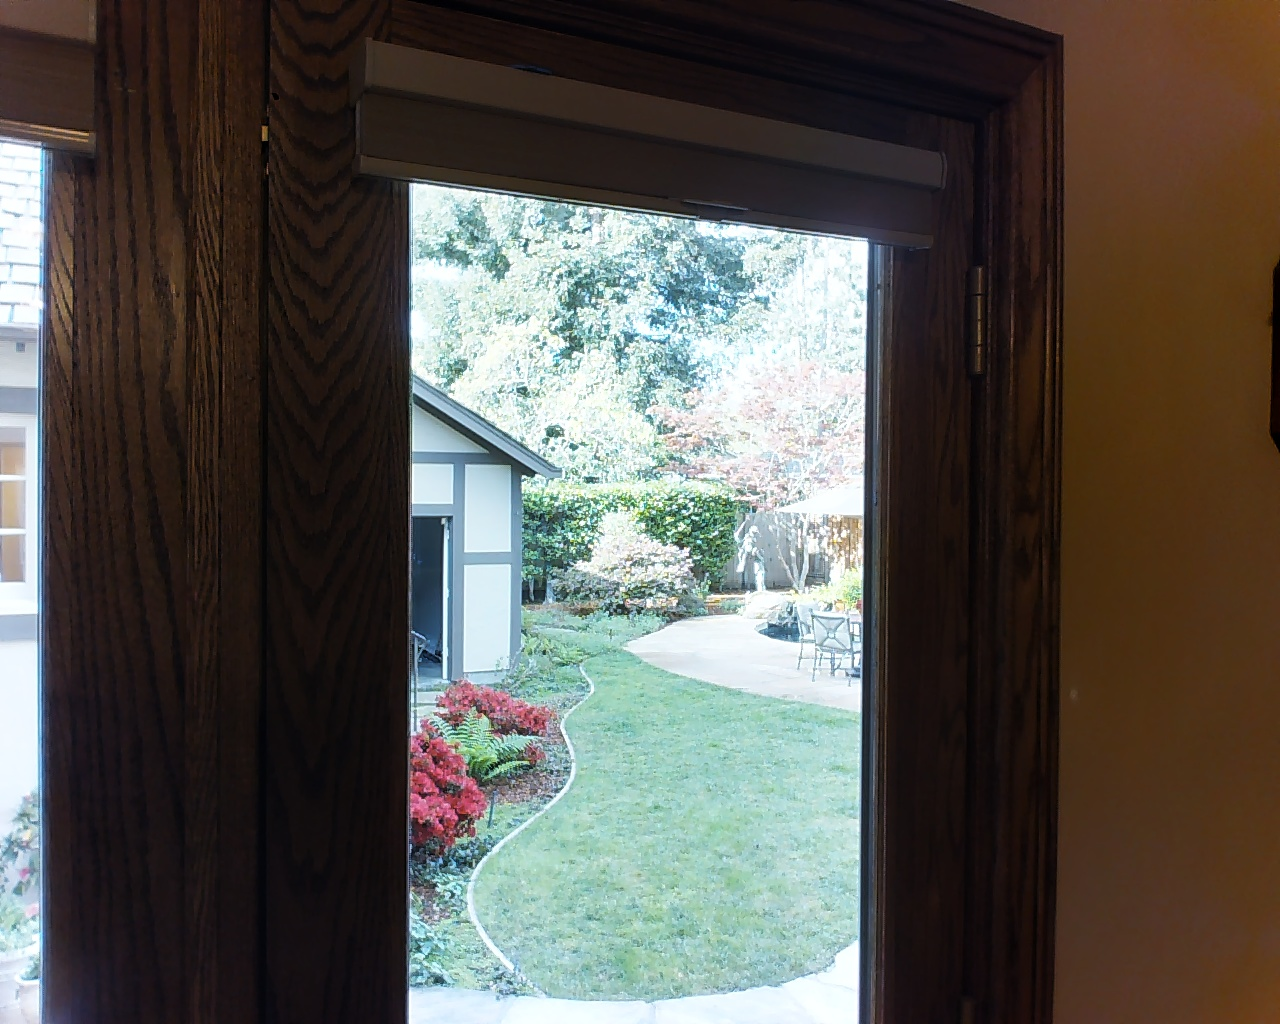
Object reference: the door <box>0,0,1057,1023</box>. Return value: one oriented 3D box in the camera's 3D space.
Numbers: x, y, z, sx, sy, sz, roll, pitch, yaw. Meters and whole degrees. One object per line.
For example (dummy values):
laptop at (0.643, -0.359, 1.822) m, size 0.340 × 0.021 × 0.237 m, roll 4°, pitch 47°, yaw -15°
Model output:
door at (-0.320, 0.550, 0.820) m, size 1.560 × 1.990 × 0.140 m, roll 0°, pitch 1°, yaw -26°
